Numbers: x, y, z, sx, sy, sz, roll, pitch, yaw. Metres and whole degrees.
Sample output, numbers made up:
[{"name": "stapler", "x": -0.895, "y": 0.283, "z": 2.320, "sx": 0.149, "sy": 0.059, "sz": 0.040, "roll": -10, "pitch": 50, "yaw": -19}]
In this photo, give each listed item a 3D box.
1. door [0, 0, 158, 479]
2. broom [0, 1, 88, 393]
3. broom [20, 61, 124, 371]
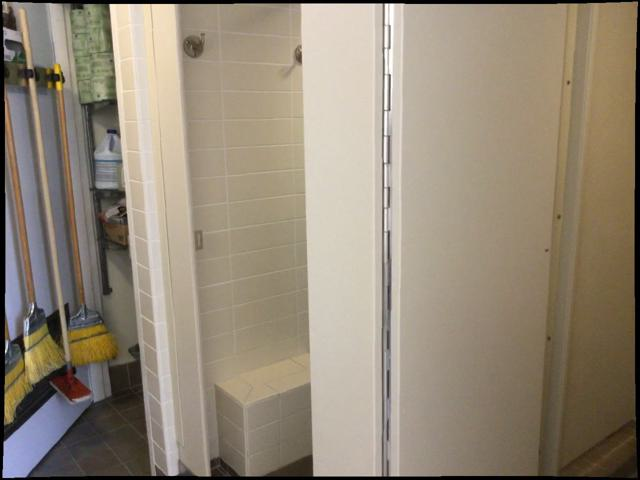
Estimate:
[{"name": "door", "x": -1.229, "y": -0.050, "z": 2.330, "sx": 0.690, "sy": 1.992, "sz": 0.730, "roll": -12, "pitch": 16, "yaw": -36}, {"name": "broom", "x": -1.119, "y": -0.140, "z": 2.190, "sx": 0.210, "sy": 1.391, "sz": 0.280, "roll": -12, "pitch": 16, "yaw": -36}, {"name": "broom", "x": -1.139, "y": -0.100, "z": 2.680, "sx": 0.210, "sy": 1.371, "sz": 0.260, "roll": -12, "pitch": 16, "yaw": -36}]
